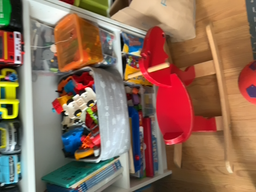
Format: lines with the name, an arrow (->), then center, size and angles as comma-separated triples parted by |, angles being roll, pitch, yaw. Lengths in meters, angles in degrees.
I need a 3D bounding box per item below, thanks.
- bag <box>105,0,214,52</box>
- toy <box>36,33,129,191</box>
bag -> 0.180, -0.510, 1.120 | 0.310, 0.530, 0.410 | -7, 85, 42
toy -> -0.220, 0.090, 1.000 | 0.300, 0.280, 0.640 | -7, 85, 42
